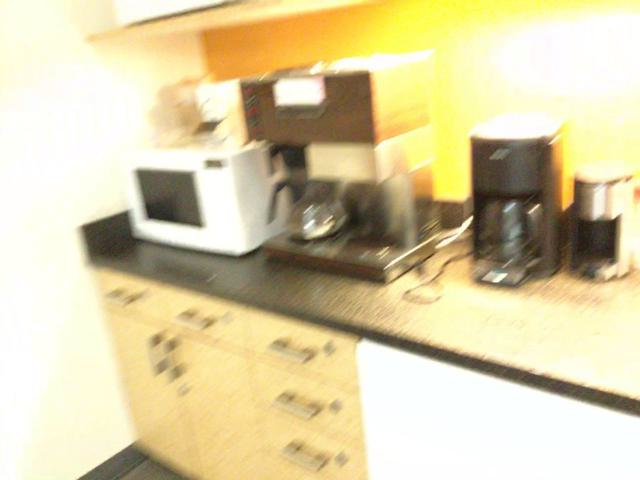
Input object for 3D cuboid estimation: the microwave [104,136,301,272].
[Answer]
[{"bbox_3d":[-0.390,-0.140,1.890,0.600,0.340,0.230,9,26,36],"label":"microwave"}]
